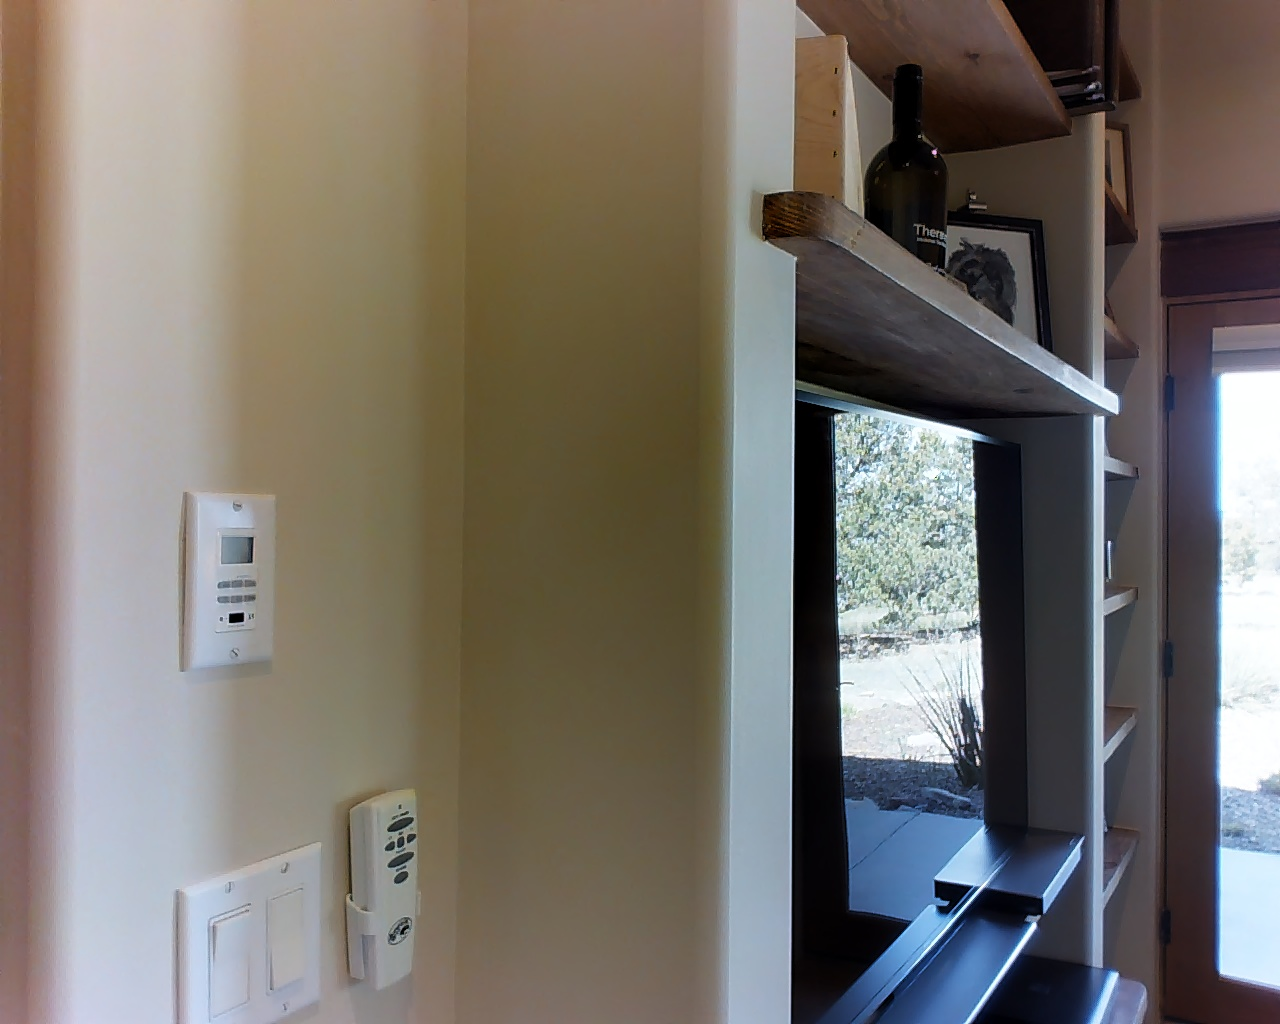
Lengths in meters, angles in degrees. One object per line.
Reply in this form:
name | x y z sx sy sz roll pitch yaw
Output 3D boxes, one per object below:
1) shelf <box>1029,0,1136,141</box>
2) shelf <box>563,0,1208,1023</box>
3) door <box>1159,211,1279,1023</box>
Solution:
shelf | 0.840 -0.900 2.020 0.130 0.270 0.360 0 -1 32
shelf | 0.770 -0.060 1.890 0.230 2.991 2.770 0 -1 32
door | 1.920 0.320 2.790 1.010 2.241 0.150 0 -1 31
